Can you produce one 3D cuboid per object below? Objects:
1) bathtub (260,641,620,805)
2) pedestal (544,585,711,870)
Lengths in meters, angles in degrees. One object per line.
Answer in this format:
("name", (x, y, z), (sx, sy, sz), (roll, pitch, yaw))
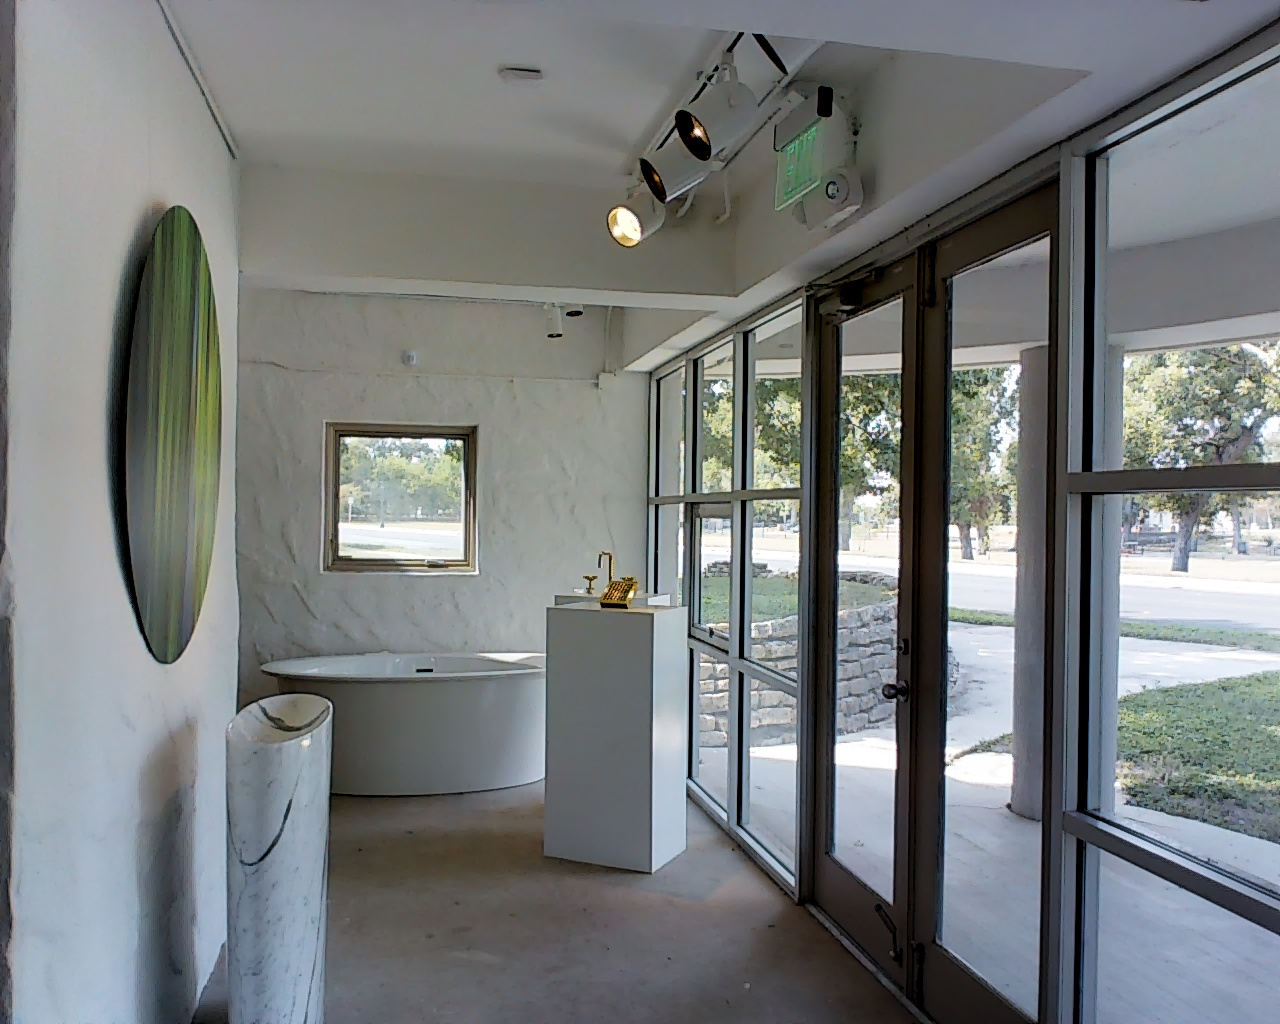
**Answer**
("bathtub", (-1.090, 1.120, 5.950), (1.790, 0.650, 1.030), (0, 0, -12))
("pedestal", (-0.050, 0.900, 4.680), (0.590, 1.110, 0.420), (1, 0, 26))
